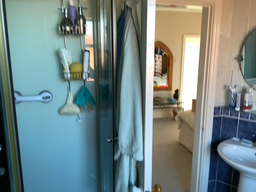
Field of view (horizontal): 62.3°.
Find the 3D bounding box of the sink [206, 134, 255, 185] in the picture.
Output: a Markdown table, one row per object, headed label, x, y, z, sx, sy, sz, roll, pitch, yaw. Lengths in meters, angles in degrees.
| label | x | y | z | sx | sy | sz | roll | pitch | yaw |
| --- | --- | --- | --- | --- | --- | --- | --- | --- | --- |
| sink | 0.980 | 0.520 | 1.710 | 0.560 | 0.200 | 0.320 | 11 | 15 | 42 |
